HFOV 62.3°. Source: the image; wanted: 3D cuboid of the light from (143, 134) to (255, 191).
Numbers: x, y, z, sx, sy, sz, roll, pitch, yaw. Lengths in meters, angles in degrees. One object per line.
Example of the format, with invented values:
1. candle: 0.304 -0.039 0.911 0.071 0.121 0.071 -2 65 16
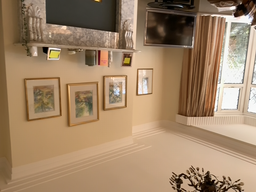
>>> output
1. light: 0.670 0.820 1.800 0.590 0.930 0.620 -4 103 -37

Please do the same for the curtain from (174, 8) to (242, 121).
1. curtain: 1.420 -0.560 3.950 0.870 0.520 1.920 2 101 1
